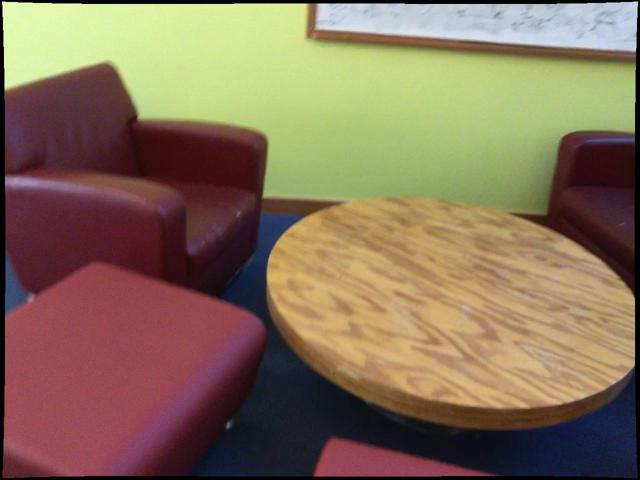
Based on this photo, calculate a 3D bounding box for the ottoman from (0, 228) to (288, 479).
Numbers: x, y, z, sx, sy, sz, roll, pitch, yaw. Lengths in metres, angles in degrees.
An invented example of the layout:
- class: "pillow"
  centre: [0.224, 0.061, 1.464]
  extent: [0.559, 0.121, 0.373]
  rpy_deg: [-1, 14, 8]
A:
- class: "ottoman"
  centre: [-0.569, 0.420, 1.580]
  extent: [0.690, 0.460, 0.730]
  rpy_deg: [17, 35, 21]

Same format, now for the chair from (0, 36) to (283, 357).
- class: "chair"
  centre: [-0.729, -0.240, 2.290]
  extent: [0.889, 0.821, 0.860]
  rpy_deg: [13, 34, 16]
